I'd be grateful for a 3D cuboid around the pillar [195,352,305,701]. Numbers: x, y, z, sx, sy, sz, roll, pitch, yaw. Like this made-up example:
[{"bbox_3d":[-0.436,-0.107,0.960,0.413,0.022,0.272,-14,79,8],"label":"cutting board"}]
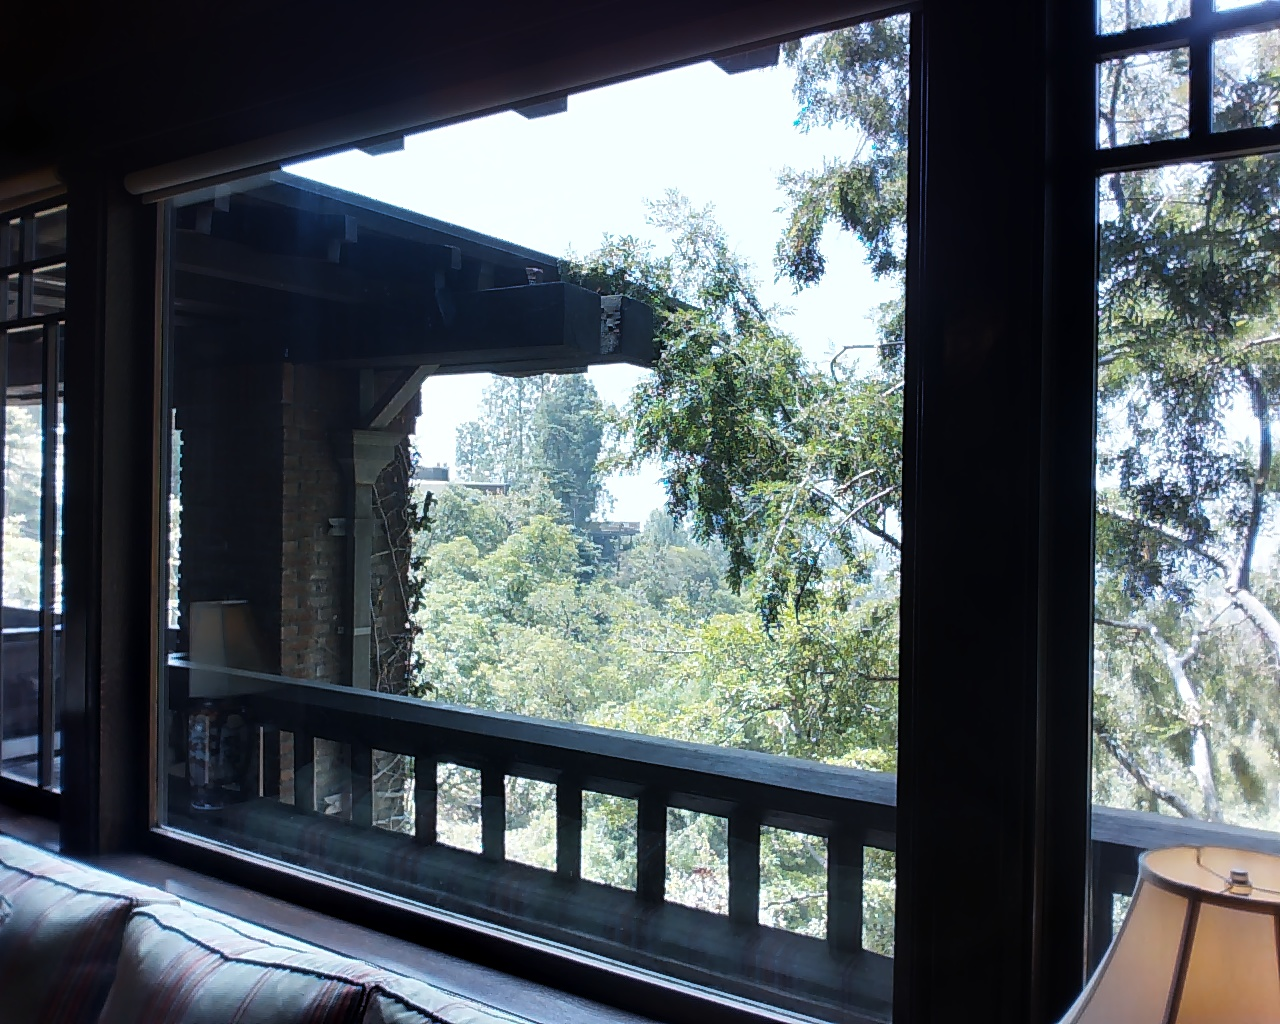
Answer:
[{"bbox_3d":[-2.120,0.070,5.830,0.760,1.810,0.100,1,1,33],"label":"pillar"}]
